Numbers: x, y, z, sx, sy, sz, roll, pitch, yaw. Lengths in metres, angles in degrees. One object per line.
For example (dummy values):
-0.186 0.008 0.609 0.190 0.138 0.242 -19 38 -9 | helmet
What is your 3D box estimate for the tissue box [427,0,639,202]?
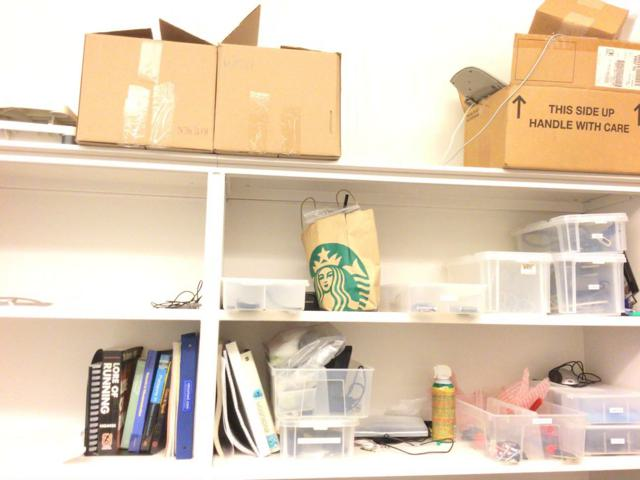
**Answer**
0.610 -0.410 1.620 0.480 0.510 0.400 1 -11 -10 | tissue box
